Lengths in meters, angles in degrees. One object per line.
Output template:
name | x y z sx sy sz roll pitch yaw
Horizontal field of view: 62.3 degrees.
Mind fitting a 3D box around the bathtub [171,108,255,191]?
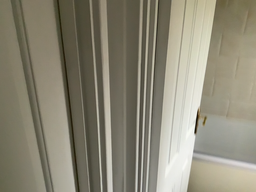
bathtub | 1.240 0.620 1.870 1.600 0.560 0.680 8 25 13
